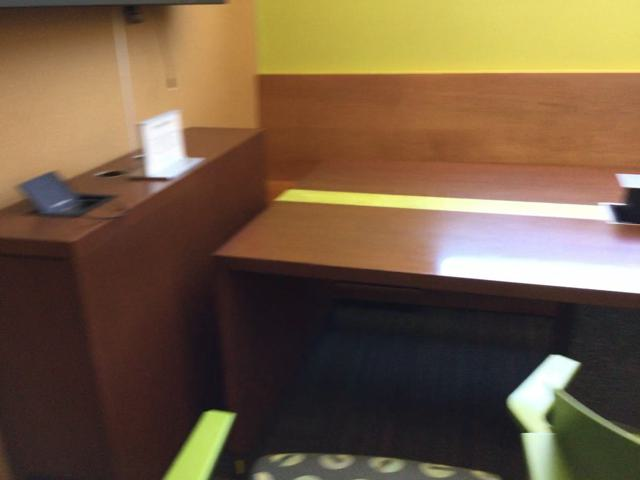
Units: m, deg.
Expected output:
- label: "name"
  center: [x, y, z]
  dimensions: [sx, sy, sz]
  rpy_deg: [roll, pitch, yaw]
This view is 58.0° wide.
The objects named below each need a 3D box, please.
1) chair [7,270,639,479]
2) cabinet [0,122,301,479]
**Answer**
- label: "chair"
  center: [0.070, 0.570, 1.000]
  dimensions: [0.750, 0.830, 0.610]
  rpy_deg: [-3, 21, 10]
- label: "cabinet"
  center: [-0.450, 0.200, 1.870]
  dimensions: [0.350, 0.920, 1.220]
  rpy_deg: [0, 21, 16]
